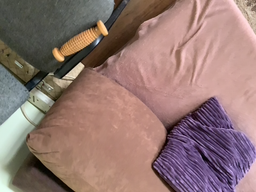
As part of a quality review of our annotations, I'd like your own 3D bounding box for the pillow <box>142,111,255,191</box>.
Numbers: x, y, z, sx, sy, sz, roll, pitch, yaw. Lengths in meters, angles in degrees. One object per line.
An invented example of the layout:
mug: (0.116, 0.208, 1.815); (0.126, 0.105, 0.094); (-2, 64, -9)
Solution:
pillow: (0.320, 0.260, 0.860); (0.450, 0.360, 0.100); (46, 73, -18)
